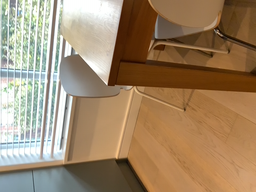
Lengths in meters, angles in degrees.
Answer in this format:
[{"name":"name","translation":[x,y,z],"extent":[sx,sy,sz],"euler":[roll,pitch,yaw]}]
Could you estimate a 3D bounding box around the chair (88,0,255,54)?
[{"name":"chair","translation":[0.310,-0.420,0.800],"extent":[0.430,0.780,0.430],"euler":[32,117,58]}]
